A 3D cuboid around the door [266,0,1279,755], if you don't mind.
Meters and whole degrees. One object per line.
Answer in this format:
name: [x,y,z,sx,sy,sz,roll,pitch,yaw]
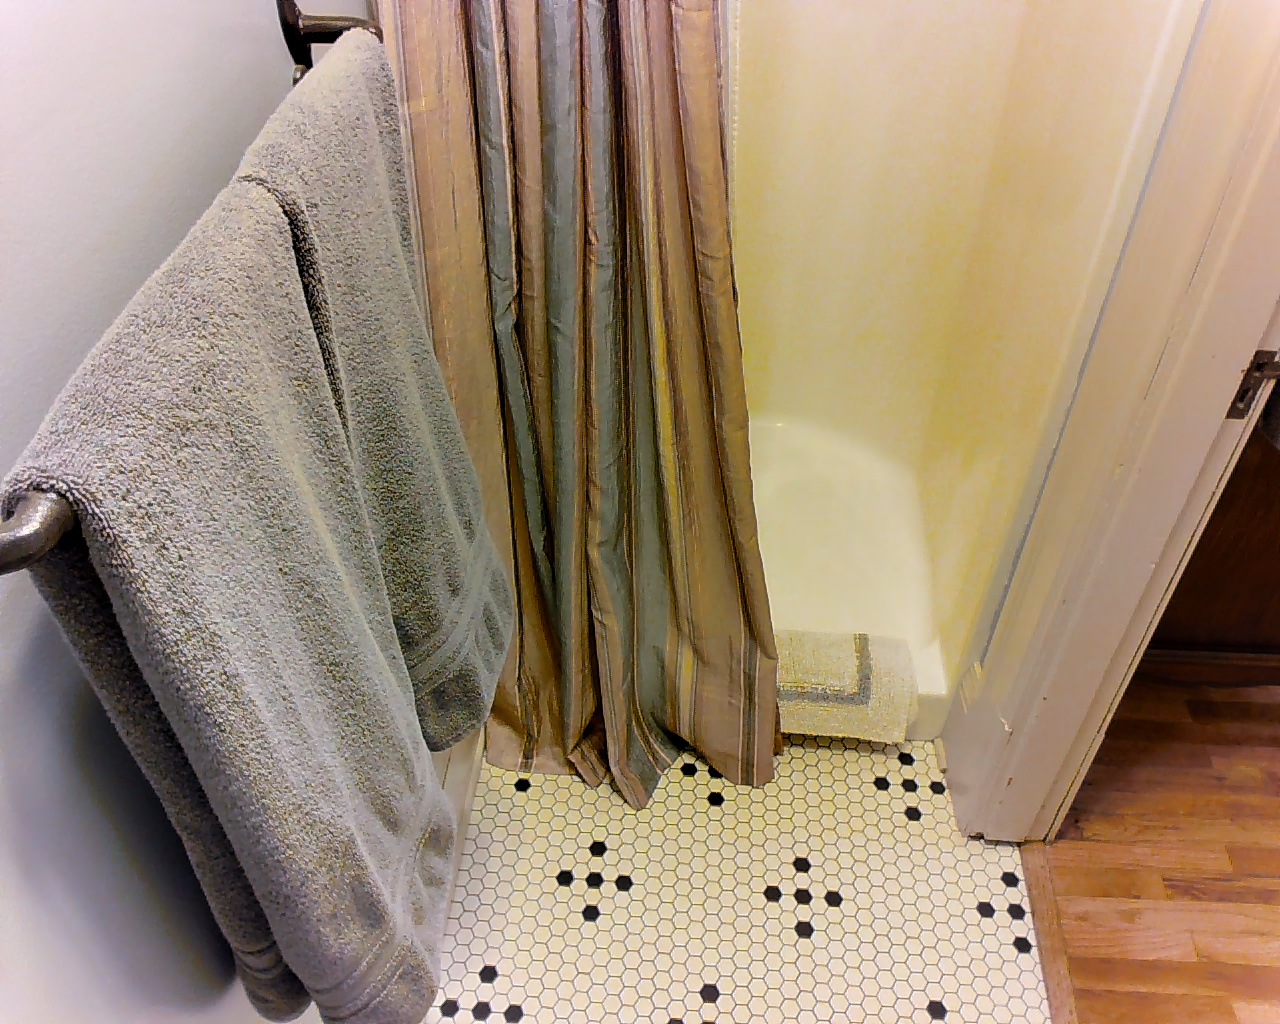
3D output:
door: [0.140,-0.520,1.430,1.130,2.370,0.260,3,43,3]
